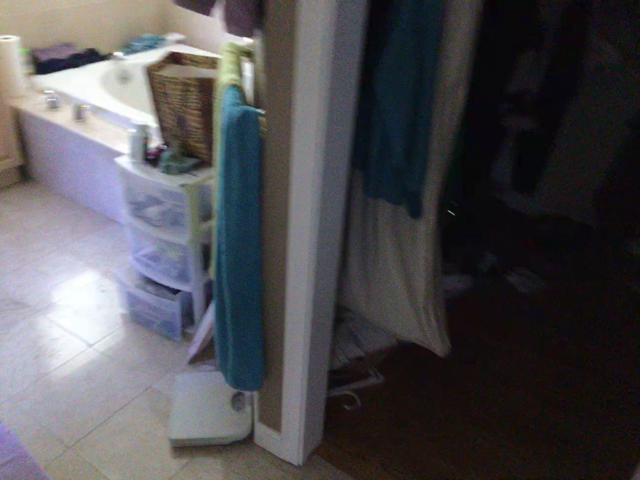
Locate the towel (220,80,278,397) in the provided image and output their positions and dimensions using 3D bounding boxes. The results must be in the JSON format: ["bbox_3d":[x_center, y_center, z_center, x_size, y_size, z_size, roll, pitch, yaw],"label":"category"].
[{"bbox_3d":[-0.200,0.010,1.500,0.110,0.750,0.340,-1,32,-11],"label":"towel"}]
